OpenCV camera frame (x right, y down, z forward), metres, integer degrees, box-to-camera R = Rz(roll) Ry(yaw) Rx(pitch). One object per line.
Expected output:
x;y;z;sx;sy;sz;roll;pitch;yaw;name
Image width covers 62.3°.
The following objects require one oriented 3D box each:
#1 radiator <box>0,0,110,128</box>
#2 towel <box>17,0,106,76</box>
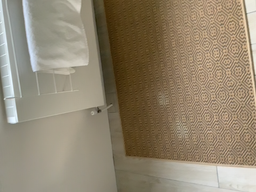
-0.420;-0.300;1.260;0.140;0.640;0.850;-4;93;37;radiator
-0.330;-0.330;1.120;0.140;0.400;0.420;-4;93;37;towel
